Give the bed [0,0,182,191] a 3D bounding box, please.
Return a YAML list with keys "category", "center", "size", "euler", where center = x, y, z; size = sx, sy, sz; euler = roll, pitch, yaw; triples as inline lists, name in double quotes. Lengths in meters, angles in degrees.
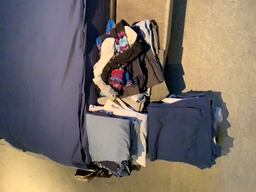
- category: "bed"
  center: [-0.950, -0.680, 1.510]
  size: [2.560, 0.510, 2.430]
  euler: [9, 105, 27]
